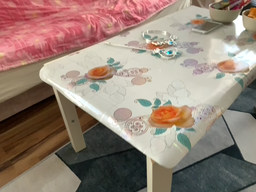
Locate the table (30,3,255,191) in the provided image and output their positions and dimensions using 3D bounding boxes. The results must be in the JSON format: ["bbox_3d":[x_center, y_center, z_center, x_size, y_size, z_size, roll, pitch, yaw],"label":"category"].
[{"bbox_3d":[0.220,-0.030,0.960,0.970,0.460,0.580,-32,45,-32],"label":"table"}]
